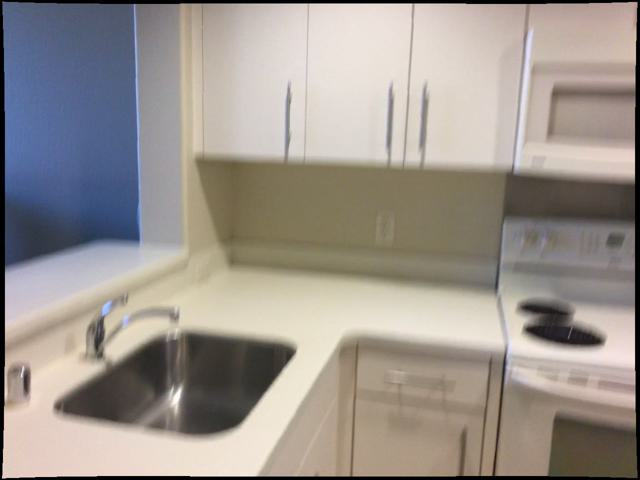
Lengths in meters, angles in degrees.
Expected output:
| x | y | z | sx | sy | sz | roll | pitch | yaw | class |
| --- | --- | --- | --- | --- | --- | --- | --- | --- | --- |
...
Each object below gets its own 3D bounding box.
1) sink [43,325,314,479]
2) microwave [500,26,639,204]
| x | y | z | sx | sy | sz | roll | pitch | yaw | class |
| --- | --- | --- | --- | --- | --- | --- | --- | --- | --- |
| -0.309 | 0.441 | 1.460 | 0.469 | 0.241 | 0.520 | 4 | 12 | 13 | sink |
| 0.997 | -0.361 | 1.700 | 0.848 | 0.501 | 0.120 | 4 | 12 | 13 | microwave |
